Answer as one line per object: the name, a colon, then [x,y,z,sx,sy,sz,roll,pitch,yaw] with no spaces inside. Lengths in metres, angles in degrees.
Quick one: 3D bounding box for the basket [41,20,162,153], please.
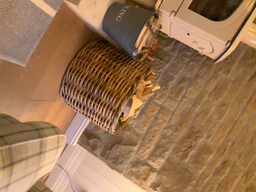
basket: [-0.140,-0.050,1.590,0.680,0.490,0.540,-58,171,1]
